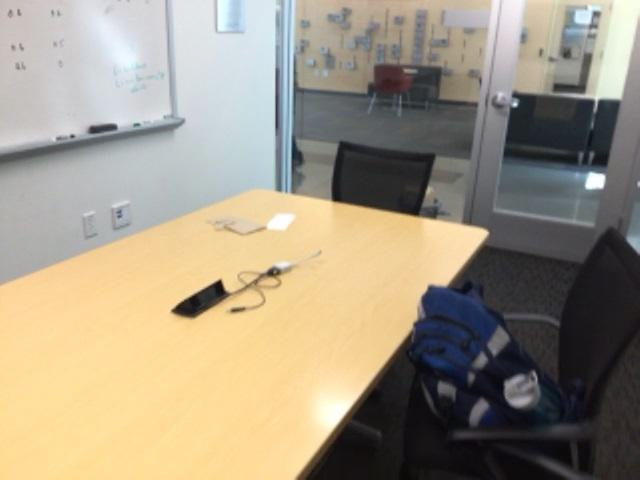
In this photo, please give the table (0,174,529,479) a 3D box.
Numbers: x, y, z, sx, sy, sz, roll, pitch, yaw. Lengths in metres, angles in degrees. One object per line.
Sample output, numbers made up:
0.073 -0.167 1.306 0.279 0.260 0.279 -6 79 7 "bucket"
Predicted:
-0.240 0.470 1.630 1.160 0.740 2.000 12 24 25 "table"
